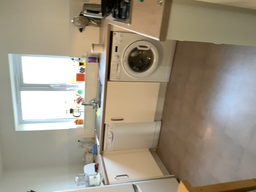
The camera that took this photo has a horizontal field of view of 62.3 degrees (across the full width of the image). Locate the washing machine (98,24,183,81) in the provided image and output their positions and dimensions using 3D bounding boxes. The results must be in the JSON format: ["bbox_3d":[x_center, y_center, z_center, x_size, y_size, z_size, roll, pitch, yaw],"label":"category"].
[{"bbox_3d":[0.110,-0.580,2.820,0.620,0.910,0.590,-125,38,-61],"label":"washing machine"}]
